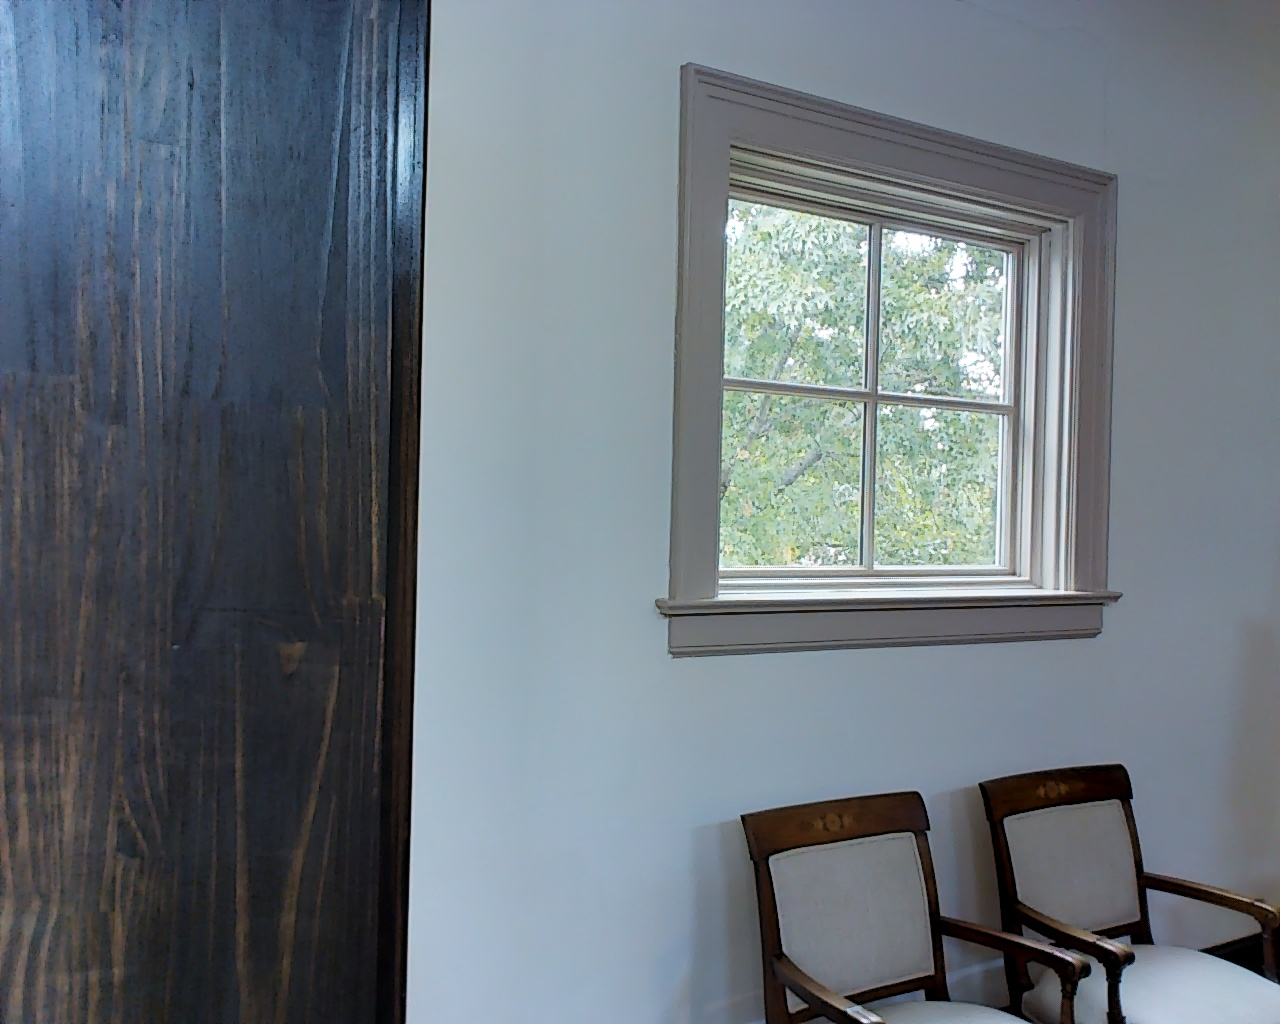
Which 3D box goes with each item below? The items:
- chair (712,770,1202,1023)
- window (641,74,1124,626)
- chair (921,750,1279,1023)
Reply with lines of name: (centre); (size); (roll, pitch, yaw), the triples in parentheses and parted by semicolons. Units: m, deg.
chair: (0.580, 1.050, 2.090); (0.620, 0.890, 0.660); (1, 0, -28)
window: (0.650, -0.330, 2.660); (1.330, 1.160, 0.210); (1, 0, -28)
chair: (1.130, 1.070, 2.410); (0.670, 0.870, 0.690); (1, 0, -28)
